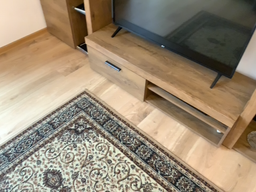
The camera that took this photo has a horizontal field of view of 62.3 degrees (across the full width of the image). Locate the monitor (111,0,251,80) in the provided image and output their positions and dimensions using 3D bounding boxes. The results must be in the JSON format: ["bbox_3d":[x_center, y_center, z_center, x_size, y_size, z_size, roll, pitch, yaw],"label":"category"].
[{"bbox_3d":[0.230,-0.560,1.350,0.930,0.590,0.060,36,56,28],"label":"monitor"}]
